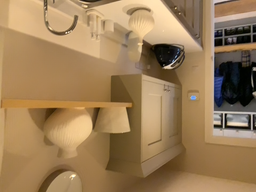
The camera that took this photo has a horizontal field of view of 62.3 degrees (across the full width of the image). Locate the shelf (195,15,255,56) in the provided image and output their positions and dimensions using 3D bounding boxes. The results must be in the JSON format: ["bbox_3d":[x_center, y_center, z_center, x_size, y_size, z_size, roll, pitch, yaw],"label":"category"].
[{"bbox_3d":[2.100,-1.150,4.060,1.470,0.510,0.550,1,178,30],"label":"shelf"}]

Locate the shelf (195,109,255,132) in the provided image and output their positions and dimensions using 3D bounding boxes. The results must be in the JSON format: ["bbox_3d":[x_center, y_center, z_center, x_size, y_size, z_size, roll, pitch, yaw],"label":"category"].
[{"bbox_3d":[2.090,0.460,4.060,1.470,0.350,0.440,1,178,30],"label":"shelf"}]
